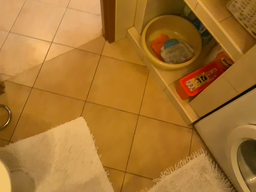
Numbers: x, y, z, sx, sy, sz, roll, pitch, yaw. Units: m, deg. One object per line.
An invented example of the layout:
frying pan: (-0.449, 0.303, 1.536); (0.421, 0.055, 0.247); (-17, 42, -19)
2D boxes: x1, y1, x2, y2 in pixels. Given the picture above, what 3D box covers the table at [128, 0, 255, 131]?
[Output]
table: (0.440, -0.380, 0.950); (0.470, 1.040, 0.760); (-28, 76, -14)
